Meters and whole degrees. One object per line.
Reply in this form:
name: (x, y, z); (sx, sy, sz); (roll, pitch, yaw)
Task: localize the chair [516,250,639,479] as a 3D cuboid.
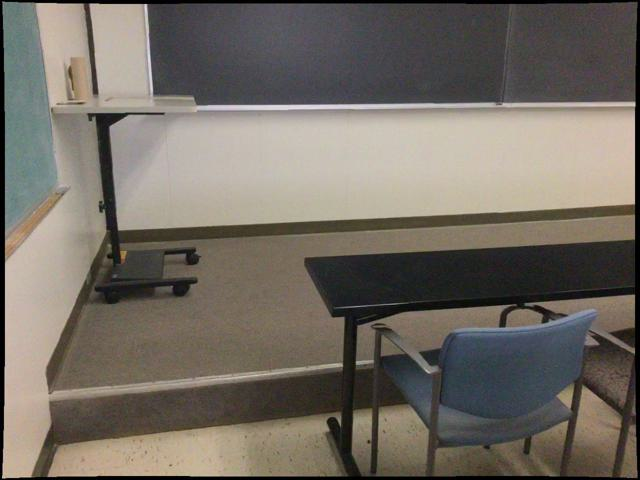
chair: (1.087, 0.491, 1.970); (0.599, 0.772, 0.480); (-7, 17, -13)

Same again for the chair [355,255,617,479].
chair: (0.489, 0.511, 1.870); (0.579, 0.732, 0.550); (-7, 16, -13)
